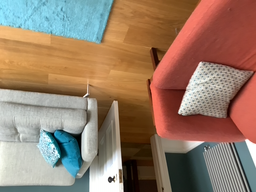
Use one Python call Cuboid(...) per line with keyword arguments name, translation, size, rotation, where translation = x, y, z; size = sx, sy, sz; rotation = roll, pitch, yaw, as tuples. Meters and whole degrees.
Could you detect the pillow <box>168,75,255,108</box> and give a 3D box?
Cuboid(name="pillow", translation=(0.530, -0.010, 1.380), size=(0.350, 0.420, 0.120), rotation=(5, 80, -25))
